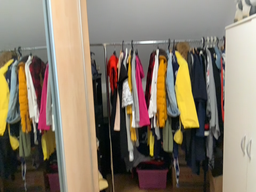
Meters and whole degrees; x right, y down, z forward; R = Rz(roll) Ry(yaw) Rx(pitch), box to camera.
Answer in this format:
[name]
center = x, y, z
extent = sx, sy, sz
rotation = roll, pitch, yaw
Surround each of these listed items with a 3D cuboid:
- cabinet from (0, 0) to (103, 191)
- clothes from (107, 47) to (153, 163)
[cabinet]
center = -0.530, 0.210, 0.810
extent = 0.440, 2.440, 2.250
rotation = -2, 8, 2
[clothes]
center = 0.010, 0.040, 2.250
extent = 0.360, 1.020, 0.780
rotation = -3, 8, -2
